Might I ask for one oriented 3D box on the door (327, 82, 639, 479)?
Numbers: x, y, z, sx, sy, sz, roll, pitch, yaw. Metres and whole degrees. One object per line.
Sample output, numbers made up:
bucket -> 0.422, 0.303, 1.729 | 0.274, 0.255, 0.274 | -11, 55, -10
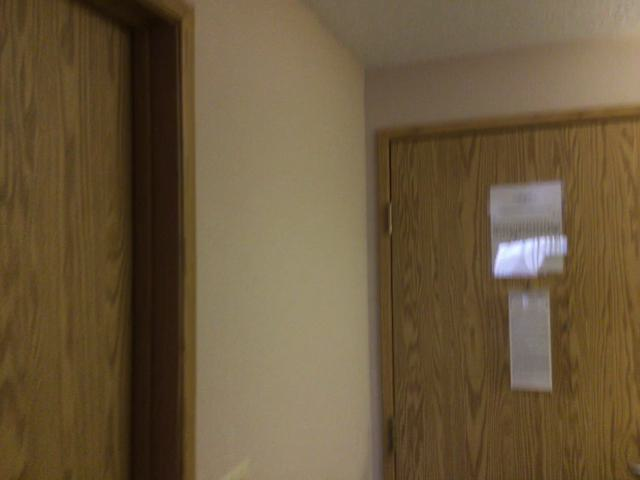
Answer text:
door -> 0.630, 0.610, 1.770 | 1.110, 2.060, 0.110 | -6, -5, 21

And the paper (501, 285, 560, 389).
paper -> 0.650, 0.300, 1.790 | 0.140, 0.310, 0.040 | -6, -5, 21
